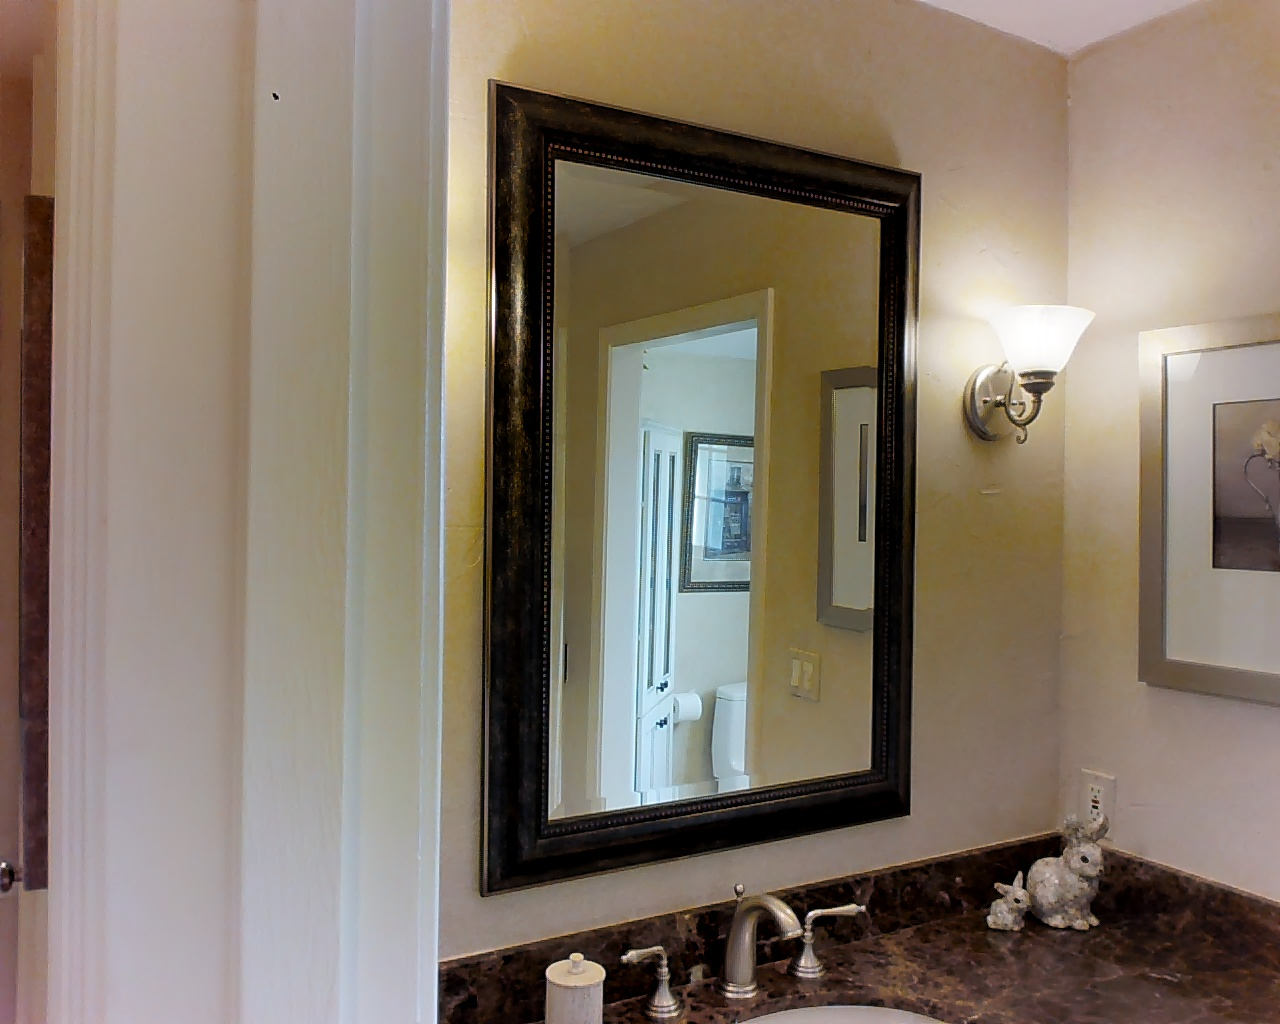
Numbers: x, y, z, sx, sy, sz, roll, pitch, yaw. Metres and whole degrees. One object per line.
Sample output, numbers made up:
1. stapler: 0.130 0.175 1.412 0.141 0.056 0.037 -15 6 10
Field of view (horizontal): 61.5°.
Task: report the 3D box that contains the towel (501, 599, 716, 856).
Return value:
1. towel: -0.100 0.700 3.650 0.690 0.770 0.220 1 0 -30
